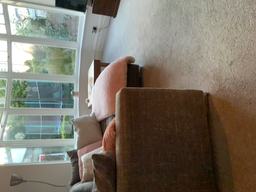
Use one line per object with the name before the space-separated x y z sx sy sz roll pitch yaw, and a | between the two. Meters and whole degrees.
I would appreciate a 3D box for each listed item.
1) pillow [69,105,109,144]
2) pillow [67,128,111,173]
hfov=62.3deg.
pillow | -0.540 0.380 2.900 0.380 0.400 0.140 59 155 15
pillow | -0.490 0.680 2.690 0.360 0.420 0.110 23 153 28
